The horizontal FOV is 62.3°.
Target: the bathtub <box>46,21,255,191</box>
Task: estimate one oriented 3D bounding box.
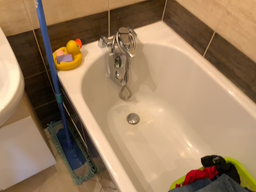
[{"bbox_3d":[0.310,0.450,0.970,0.700,0.600,1.660,-23,58,-21],"label":"bathtub"}]
